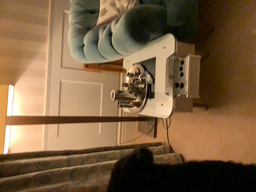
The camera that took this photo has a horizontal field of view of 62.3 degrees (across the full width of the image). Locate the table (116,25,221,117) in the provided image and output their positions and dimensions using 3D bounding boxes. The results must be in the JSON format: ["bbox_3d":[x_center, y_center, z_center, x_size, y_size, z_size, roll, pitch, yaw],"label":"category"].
[{"bbox_3d":[0.270,-0.140,1.800,0.900,0.400,0.570,-4,85,62],"label":"table"}]
